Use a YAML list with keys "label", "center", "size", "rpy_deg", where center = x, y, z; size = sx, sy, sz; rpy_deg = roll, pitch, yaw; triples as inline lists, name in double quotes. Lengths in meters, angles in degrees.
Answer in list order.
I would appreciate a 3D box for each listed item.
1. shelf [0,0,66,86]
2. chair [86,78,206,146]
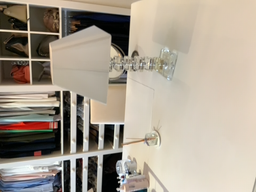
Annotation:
- label: "shelf"
  center: [-1.440, -0.640, 2.620]
  size: [0.700, 1.220, 0.900]
  rpy_deg: [-148, 59, -63]
- label: "chair"
  center: [0.150, 0.090, 2.060]
  size: [0.540, 1.010, 0.500]
  rpy_deg: [-163, 72, -66]
